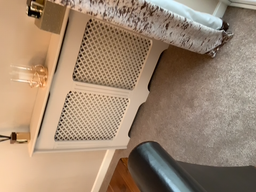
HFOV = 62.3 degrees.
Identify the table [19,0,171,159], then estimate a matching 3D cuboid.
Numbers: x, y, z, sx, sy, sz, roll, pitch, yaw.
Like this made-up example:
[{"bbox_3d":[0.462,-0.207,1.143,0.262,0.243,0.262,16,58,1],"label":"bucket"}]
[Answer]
[{"bbox_3d":[-0.260,-0.060,1.730,0.200,0.920,1.180,42,117,47],"label":"table"}]
